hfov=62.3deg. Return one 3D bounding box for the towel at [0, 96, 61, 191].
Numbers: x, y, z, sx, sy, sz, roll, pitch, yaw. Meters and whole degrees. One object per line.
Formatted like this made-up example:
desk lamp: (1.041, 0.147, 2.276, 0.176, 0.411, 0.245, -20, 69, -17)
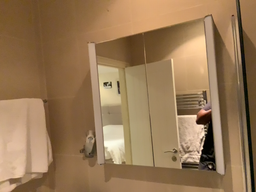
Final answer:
towel: (-0.630, 0.250, 1.220, 0.110, 0.470, 0.490, -4, 1, 29)
